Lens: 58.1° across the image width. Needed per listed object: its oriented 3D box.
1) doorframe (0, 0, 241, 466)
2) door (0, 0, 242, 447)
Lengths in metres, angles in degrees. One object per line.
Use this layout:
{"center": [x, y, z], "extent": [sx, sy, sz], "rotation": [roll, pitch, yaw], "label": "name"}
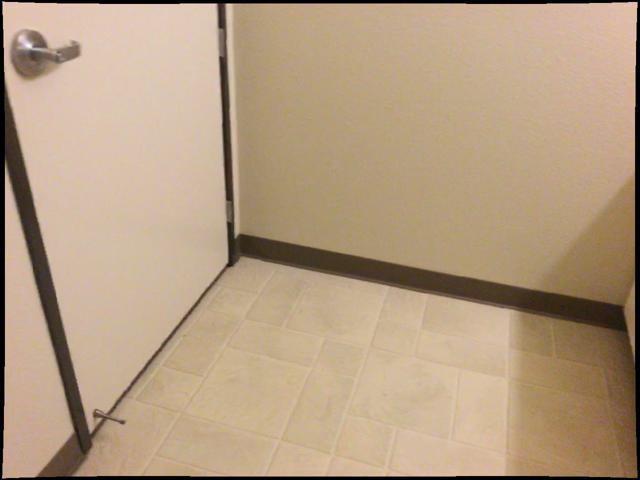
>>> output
{"center": [-0.459, -0.521, 1.460], "extent": [0.050, 2.024, 1.060], "rotation": [11, 32, 13], "label": "doorframe"}
{"center": [-0.459, -0.521, 1.460], "extent": [0.070, 1.964, 0.990], "rotation": [11, 33, 13], "label": "door"}
